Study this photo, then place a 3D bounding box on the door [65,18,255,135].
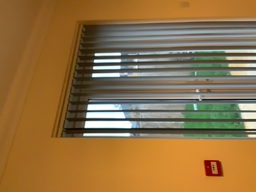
[{"bbox_3d":[0.670,-0.220,1.730,0.060,2.210,1.090,84,-173,-62],"label":"door"}]
